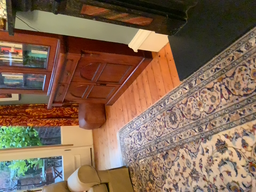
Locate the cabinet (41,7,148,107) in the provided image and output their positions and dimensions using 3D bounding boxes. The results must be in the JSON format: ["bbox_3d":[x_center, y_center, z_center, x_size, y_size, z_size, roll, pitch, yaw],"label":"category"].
[{"bbox_3d":[-0.480,-0.310,2.430,1.210,0.870,0.450,-45,50,55],"label":"cabinet"}]
